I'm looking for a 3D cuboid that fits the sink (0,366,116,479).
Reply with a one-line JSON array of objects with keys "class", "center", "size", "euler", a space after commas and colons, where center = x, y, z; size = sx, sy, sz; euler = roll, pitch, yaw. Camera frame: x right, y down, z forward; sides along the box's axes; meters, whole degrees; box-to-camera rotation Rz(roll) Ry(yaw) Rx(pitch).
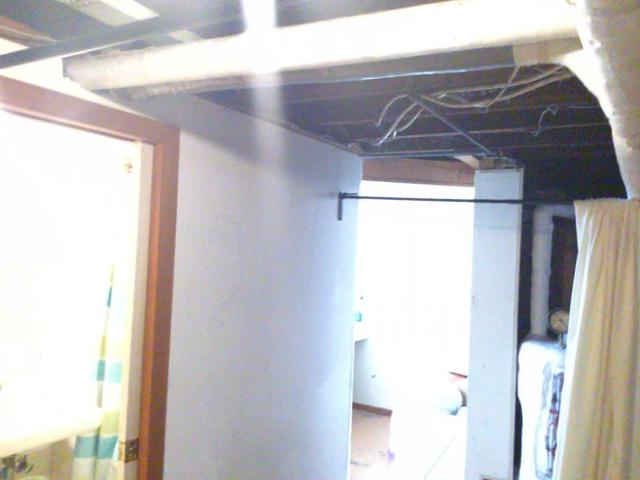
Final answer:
[{"class": "sink", "center": [-1.300, 0.760, 2.500], "size": [0.510, 0.280, 0.590], "euler": [1, -2, 29]}]
